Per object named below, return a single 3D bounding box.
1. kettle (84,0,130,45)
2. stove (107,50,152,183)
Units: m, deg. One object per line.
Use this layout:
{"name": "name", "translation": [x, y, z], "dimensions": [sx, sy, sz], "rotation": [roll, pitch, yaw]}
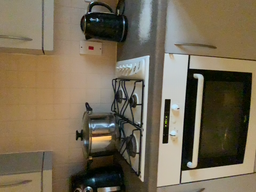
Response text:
{"name": "kettle", "translation": [-0.130, -0.430, 1.250], "dimensions": [0.190, 0.230, 0.210], "rotation": [-167, 78, -69]}
{"name": "stove", "translation": [-0.020, 0.070, 1.180], "dimensions": [0.550, 0.040, 0.580], "rotation": [-164, 75, -69]}
